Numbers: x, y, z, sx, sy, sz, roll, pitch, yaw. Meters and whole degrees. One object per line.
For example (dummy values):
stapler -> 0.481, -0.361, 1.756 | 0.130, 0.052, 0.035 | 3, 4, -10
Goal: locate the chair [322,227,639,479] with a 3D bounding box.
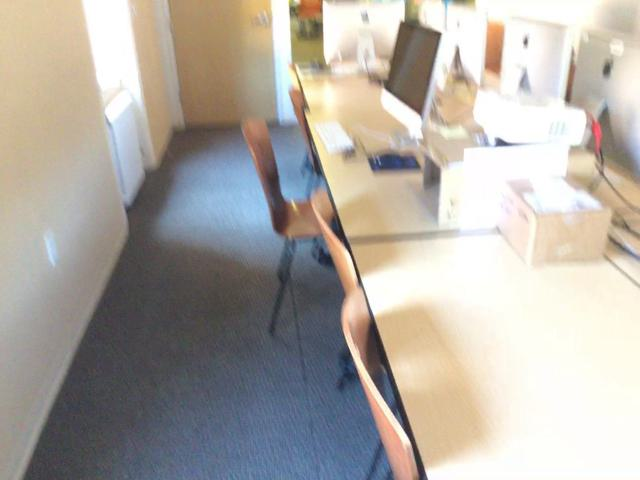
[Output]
chair -> 0.240, 0.490, 1.140 | 0.360, 0.790, 0.670 | -6, 27, -3

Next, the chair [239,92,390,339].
chair -> -0.020, -0.120, 2.380 | 0.500, 0.810, 0.580 | -6, 27, -3

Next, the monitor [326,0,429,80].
monitor -> 0.360, -1.260, 3.610 | 0.600, 0.430, 0.180 | -6, 27, -3

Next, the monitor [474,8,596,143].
monitor -> 0.820, -0.670, 2.290 | 0.230, 0.410, 0.520 | -6, 27, -3

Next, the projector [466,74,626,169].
projector -> 0.630, -0.350, 1.670 | 0.320, 0.170, 0.300 | -6, 27, -3

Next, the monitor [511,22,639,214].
monitor -> 0.830, -0.400, 1.780 | 0.250, 0.440, 0.530 | -6, 27, -3
